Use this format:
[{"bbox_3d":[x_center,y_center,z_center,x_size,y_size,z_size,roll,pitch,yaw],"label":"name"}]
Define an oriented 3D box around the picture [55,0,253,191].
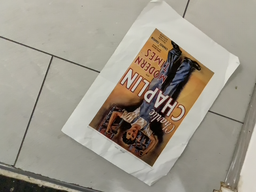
[{"bbox_3d":[0.060,0.000,0.390,0.240,0.010,0.300,37,86,-8],"label":"picture"}]
